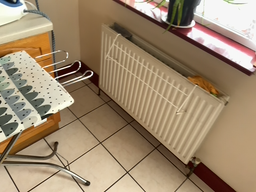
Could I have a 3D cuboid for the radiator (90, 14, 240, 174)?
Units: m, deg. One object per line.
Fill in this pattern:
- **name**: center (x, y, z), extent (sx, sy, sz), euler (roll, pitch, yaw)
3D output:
- **radiator**: center (0.110, -0.030, 1.500), extent (0.140, 0.680, 1.040), euler (-30, 56, -35)
